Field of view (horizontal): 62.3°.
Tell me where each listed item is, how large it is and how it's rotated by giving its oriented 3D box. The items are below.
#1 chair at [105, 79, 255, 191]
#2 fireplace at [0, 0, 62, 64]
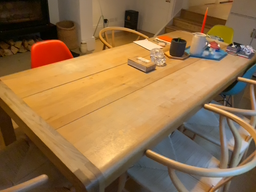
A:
[{"bbox_3d":[0.280,0.420,1.190,0.520,0.740,0.610,31,40,33],"label":"chair"},{"bbox_3d":[-1.500,-1.040,2.970,0.430,0.900,0.980,30,39,32],"label":"fireplace"}]
